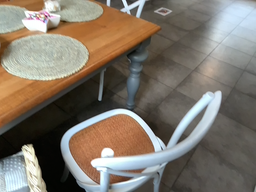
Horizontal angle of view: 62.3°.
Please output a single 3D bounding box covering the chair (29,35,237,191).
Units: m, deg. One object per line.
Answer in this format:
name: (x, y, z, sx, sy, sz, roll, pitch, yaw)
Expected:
chair: (-0.050, 0.280, 1.000, 0.460, 0.870, 0.550, -23, 51, -30)
